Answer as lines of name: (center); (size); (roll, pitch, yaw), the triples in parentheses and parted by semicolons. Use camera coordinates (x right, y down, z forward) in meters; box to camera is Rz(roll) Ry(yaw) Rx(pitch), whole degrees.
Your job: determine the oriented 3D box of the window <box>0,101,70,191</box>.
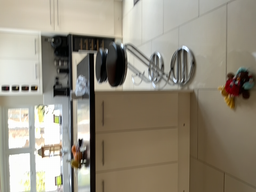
window: (-1.760, 1.060, 4.040); (0.230, 1.200, 1.880); (-175, 84, -70)
